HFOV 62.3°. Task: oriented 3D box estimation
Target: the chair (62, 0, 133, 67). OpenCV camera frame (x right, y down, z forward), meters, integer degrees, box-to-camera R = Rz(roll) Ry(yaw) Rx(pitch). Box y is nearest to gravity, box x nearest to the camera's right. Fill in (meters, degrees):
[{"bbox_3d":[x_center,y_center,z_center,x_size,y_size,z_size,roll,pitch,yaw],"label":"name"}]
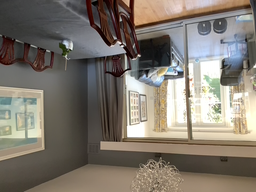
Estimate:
[{"bbox_3d":[-0.320,-0.860,2.290,0.570,0.960,0.500,-3,176,27],"label":"chair"}]
